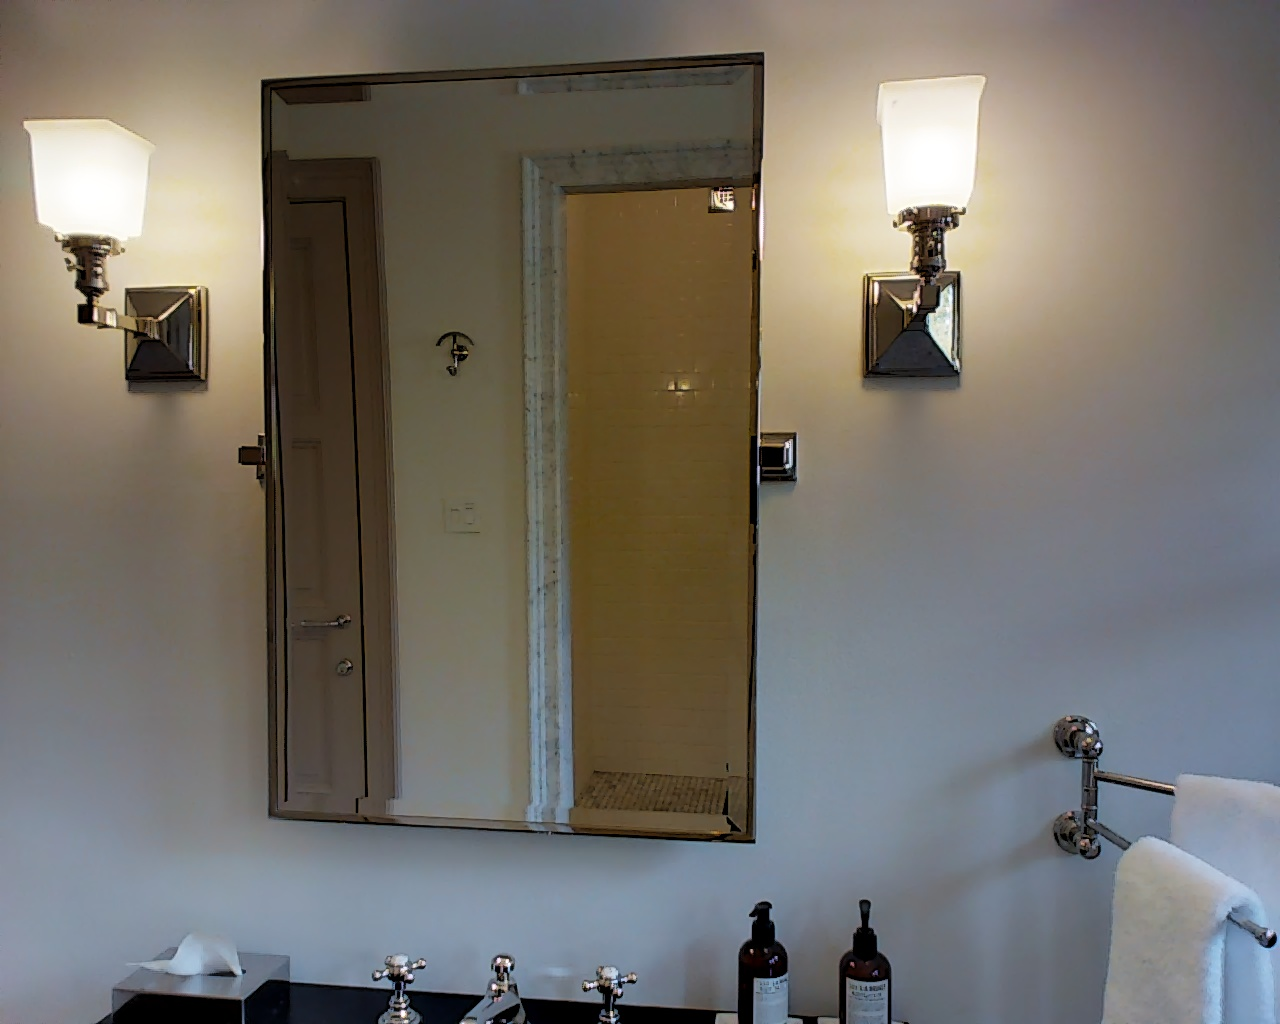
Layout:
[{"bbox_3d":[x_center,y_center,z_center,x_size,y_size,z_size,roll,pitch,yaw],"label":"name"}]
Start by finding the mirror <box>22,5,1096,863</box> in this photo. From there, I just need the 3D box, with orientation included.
[{"bbox_3d":[-0.140,-0.090,1.350,1.350,0.990,0.050,0,0,7],"label":"mirror"}]
